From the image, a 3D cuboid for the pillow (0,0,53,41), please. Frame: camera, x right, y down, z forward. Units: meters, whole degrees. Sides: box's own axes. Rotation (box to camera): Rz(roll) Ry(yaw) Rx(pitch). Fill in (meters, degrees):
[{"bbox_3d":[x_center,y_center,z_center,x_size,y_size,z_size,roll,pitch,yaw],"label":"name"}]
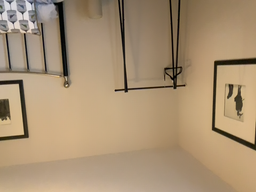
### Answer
[{"bbox_3d":[-1.010,-0.780,1.940,0.480,0.400,0.190,-21,-167,-12],"label":"pillow"}]
